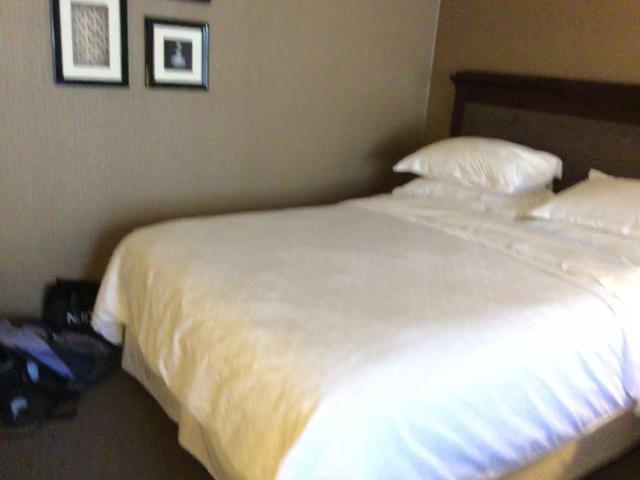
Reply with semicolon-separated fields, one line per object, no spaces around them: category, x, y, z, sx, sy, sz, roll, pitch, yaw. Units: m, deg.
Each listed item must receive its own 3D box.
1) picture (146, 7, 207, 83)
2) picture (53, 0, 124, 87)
picture;-0.650;-0.880;2.630;0.280;0.300;0.020;-6;16;-36
picture;-0.960;-0.840;2.410;0.270;0.370;0.040;-6;16;-36
